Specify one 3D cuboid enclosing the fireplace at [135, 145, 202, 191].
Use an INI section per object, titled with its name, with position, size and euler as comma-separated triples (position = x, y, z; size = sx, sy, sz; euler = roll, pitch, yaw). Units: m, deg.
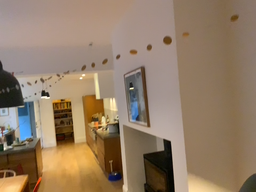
[fireplace]
position = 0.520, 1.230, 2.960
size = 0.450, 0.820, 1.020
euler = -5, 1, -18
